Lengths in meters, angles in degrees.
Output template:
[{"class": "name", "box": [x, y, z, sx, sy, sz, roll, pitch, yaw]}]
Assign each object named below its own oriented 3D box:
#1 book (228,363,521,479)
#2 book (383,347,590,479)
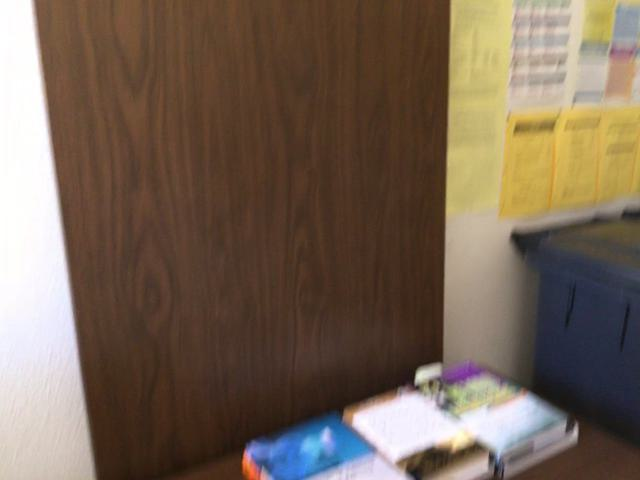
[{"class": "book", "box": [0.090, 0.370, 1.040, 0.420, 0.070, 0.310, -12, 17, -27]}, {"class": "book", "box": [0.320, 0.330, 1.160, 0.250, 0.060, 0.310, -12, 17, -27]}]
